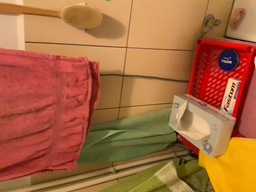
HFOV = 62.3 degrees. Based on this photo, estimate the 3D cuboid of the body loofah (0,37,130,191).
[{"bbox_3d":[-0.330,0.090,0.640,0.170,0.590,0.490,44,131,52],"label":"body loofah"}]
